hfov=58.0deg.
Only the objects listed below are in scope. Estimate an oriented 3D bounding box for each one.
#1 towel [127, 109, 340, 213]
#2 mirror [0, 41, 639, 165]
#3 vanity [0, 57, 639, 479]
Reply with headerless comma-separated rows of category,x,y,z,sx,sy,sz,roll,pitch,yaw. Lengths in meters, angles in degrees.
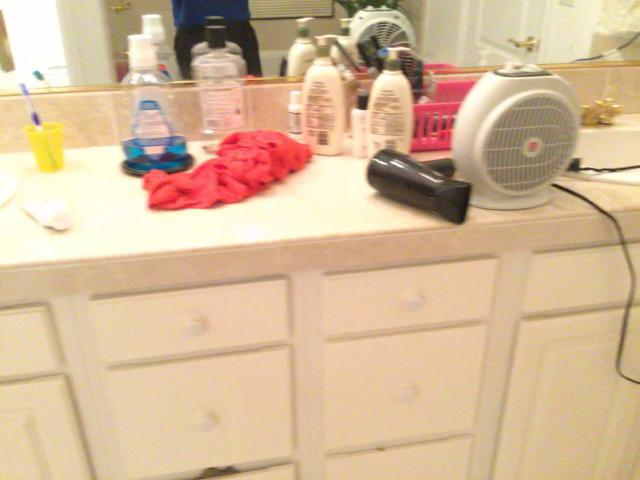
towel,-0.180,-0.180,1.200,0.370,0.090,0.380,-5,24,-9
mirror,-0.140,-0.340,1.400,2.270,0.180,0.230,-5,24,-9
vanity,-0.080,0.210,1.300,2.320,1.060,0.560,-5,24,-9
